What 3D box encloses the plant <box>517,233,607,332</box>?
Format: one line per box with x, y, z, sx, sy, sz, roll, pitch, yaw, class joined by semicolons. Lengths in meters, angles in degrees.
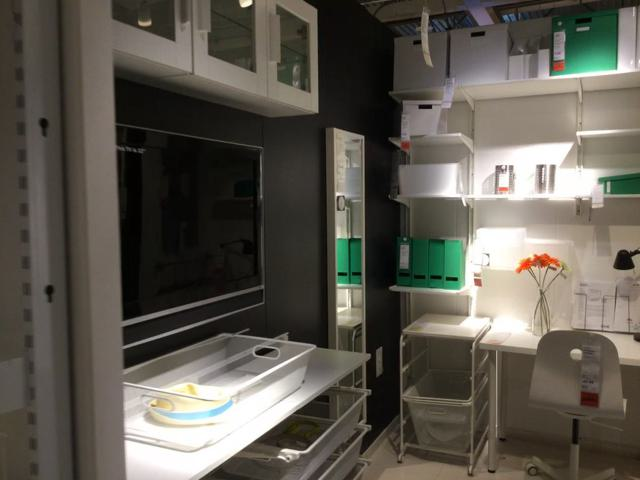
1.310;0.210;3.110;0.350;0.460;0.380;-1;5;36;plant
